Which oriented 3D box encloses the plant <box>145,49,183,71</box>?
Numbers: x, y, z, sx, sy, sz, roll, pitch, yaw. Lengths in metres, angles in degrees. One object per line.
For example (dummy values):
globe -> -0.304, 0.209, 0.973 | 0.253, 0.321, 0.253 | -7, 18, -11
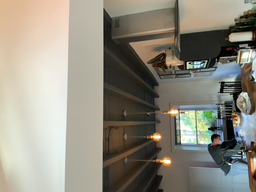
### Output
plant -> 0.580, -0.550, 3.340 | 0.400, 0.550, 0.210 | 13, -105, -75
